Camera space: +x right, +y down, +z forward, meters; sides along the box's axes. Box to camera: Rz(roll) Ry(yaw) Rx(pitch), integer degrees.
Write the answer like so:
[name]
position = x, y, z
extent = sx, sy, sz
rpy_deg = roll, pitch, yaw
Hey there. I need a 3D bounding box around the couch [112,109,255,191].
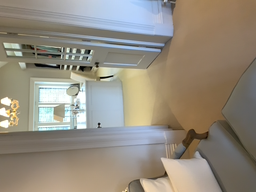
[couch]
position = 0.510, 0.670, 1.400
extent = 0.750, 0.950, 0.860
rpy_deg = -112, 30, -45
